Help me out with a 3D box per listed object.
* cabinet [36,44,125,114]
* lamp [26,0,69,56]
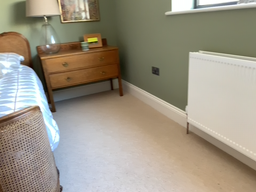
[{"bbox_3d":[-0.630,-0.280,2.940,1.030,0.730,0.440,-13,22,-24],"label":"cabinet"},{"bbox_3d":[-0.940,-0.840,2.480,0.340,0.660,0.310,-13,22,-23],"label":"lamp"}]
